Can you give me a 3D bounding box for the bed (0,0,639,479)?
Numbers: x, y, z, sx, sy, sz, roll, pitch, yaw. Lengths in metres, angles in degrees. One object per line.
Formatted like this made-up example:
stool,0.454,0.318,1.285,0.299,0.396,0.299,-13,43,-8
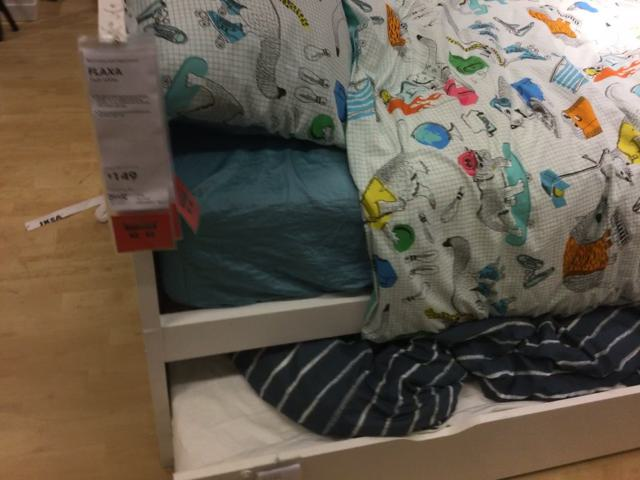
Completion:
bed,0.600,-0.240,1.450,2.190,1.000,1.400,-8,47,-14
